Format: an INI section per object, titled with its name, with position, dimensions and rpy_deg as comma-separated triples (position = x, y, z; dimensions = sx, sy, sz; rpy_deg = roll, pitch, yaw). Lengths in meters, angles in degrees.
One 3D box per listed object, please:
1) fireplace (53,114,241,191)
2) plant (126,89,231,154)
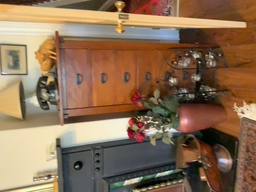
[fireplace]
position = 0.100, 1.070, 1.750
dimensions = 0.670, 1.230, 1.610
rpy_deg = -152, 60, -66
[plant]
position = 0.380, 0.160, 1.580
dimensions = 0.220, 0.750, 0.350
rpy_deg = -157, 65, -67
